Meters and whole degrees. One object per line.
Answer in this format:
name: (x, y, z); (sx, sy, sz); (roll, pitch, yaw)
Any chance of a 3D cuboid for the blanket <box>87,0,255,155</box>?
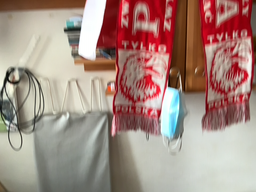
blanket: (0.180, -0.210, 0.830); (0.620, 0.780, 0.290); (-2, 13, -2)
